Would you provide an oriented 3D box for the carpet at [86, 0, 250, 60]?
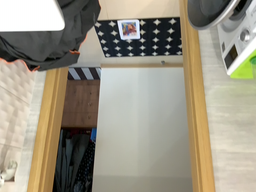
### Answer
[{"bbox_3d":[0.380,-0.650,2.270,1.460,0.100,0.720,-2,160,9],"label":"carpet"}]
